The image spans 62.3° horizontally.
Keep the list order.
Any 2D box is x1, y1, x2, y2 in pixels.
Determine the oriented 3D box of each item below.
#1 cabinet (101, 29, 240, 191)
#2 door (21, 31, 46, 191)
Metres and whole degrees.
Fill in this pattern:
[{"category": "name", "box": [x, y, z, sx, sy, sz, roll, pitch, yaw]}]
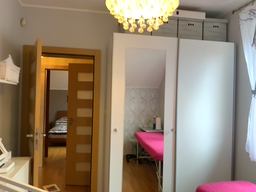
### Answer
[{"category": "cabinet", "box": [0.490, 0.410, 2.720, 1.540, 2.180, 0.670, 2, 0, -12]}, {"category": "door", "box": [-1.070, 0.440, 2.340, 0.100, 2.100, 0.830, 2, 0, -31]}]
